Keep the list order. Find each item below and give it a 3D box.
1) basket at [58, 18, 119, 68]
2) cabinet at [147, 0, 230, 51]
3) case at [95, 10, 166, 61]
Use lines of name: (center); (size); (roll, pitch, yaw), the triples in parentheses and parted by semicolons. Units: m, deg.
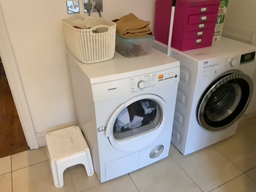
basket: (-0.270, -0.370, 1.400); (0.270, 0.190, 0.420); (-14, 34, -23)
cabinet: (0.440, -0.600, 1.650); (0.410, 0.330, 0.420); (-15, 34, -23)
case: (0.000, -0.450, 1.510); (0.330, 0.220, 0.430); (-14, 34, -22)
